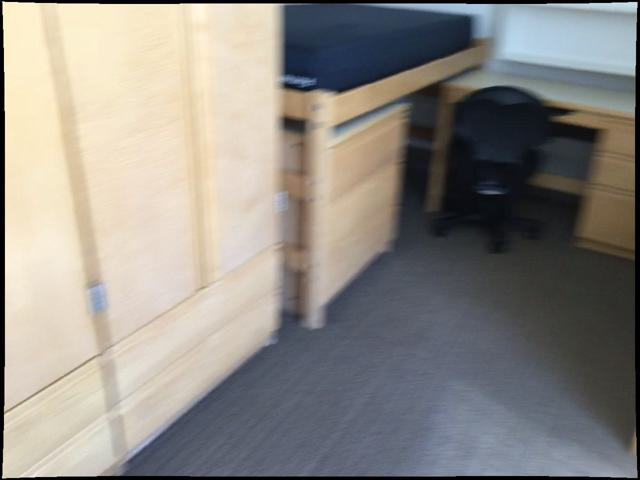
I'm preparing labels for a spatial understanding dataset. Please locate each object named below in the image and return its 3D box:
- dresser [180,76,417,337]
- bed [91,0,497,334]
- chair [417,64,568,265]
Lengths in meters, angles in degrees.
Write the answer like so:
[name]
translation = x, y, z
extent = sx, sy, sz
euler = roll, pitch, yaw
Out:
[dresser]
translation = -0.060, -0.221, 2.620
extent = 0.639, 0.832, 0.870
euler = 15, 29, 26
[bed]
translation = 0.070, -0.642, 3.120
extent = 1.048, 1.102, 2.139
euler = 15, 29, 26
[chair]
translation = 0.898, -0.421, 3.040
extent = 0.529, 0.862, 0.520
euler = 15, 29, 27
